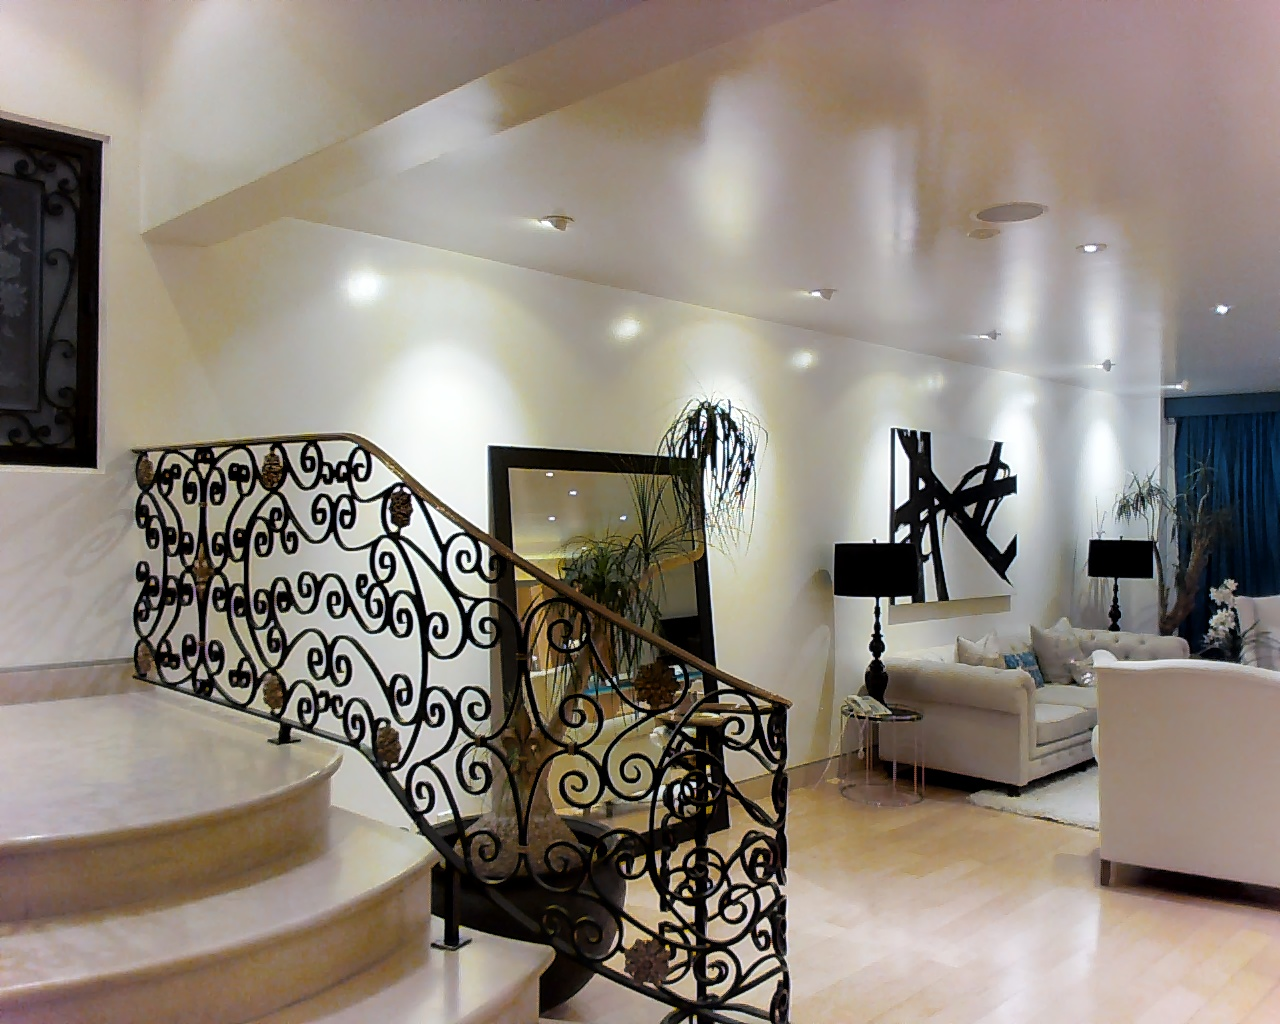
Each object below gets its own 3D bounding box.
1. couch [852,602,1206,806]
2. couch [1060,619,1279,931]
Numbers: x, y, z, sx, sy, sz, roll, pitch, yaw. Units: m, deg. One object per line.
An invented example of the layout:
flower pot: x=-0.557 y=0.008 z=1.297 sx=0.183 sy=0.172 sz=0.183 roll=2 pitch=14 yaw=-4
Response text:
couch: x=2.919 y=1.241 z=7.760 sx=3.149 sy=0.930 sz=1.130 roll=0 pitch=1 yaw=-44
couch: x=2.679 y=1.151 z=5.010 sx=1.180 sy=1.141 sz=1.050 roll=1 pitch=0 yaw=31
